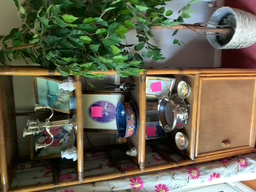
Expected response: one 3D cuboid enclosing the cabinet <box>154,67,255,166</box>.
[{"bbox_3d":[0.600,0.100,1.670,0.490,0.610,0.630,-158,68,-68],"label":"cabinet"}]
